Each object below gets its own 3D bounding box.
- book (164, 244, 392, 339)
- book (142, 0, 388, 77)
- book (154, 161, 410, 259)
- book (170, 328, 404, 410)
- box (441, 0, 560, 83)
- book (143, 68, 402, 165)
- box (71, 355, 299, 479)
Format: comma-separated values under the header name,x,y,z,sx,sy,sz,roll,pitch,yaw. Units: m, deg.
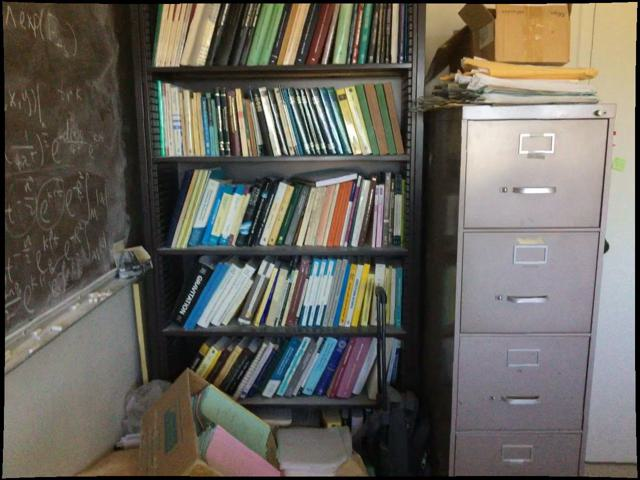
name,x,y,z,sx,sy,sz,roll,pitch,yaw
book,-0.150,0.190,2.220,0.808,0.291,0.290,0,12,0
book,-0.180,-0.772,1.960,0.798,0.401,0.180,0,11,0
book,-0.130,-0.120,2.120,0.868,0.321,0.280,0,12,0
book,-0.120,0.491,2.220,0.848,0.241,0.220,0,12,0
box,0.499,-0.571,1.630,0.259,0.231,0.210,0,12,0
book,-0.160,-0.441,2.080,0.868,0.321,0.230,0,11,0
box,-0.349,0.712,1.810,0.539,0.461,0.680,0,12,0
